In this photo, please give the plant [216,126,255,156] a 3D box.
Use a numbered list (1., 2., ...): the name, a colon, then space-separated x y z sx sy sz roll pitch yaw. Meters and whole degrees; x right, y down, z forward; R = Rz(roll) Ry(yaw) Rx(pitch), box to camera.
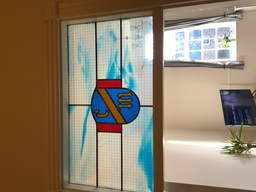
1. plant: 2.220 0.740 3.500 0.730 1.330 0.290 -10 -80 -74
